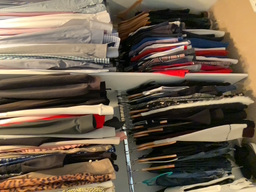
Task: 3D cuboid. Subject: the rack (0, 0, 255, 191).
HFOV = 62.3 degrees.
[{"bbox_3d":[-0.140,-0.420,1.480,0.520,2.020,2.220,136,130,-63],"label":"rack"}]
